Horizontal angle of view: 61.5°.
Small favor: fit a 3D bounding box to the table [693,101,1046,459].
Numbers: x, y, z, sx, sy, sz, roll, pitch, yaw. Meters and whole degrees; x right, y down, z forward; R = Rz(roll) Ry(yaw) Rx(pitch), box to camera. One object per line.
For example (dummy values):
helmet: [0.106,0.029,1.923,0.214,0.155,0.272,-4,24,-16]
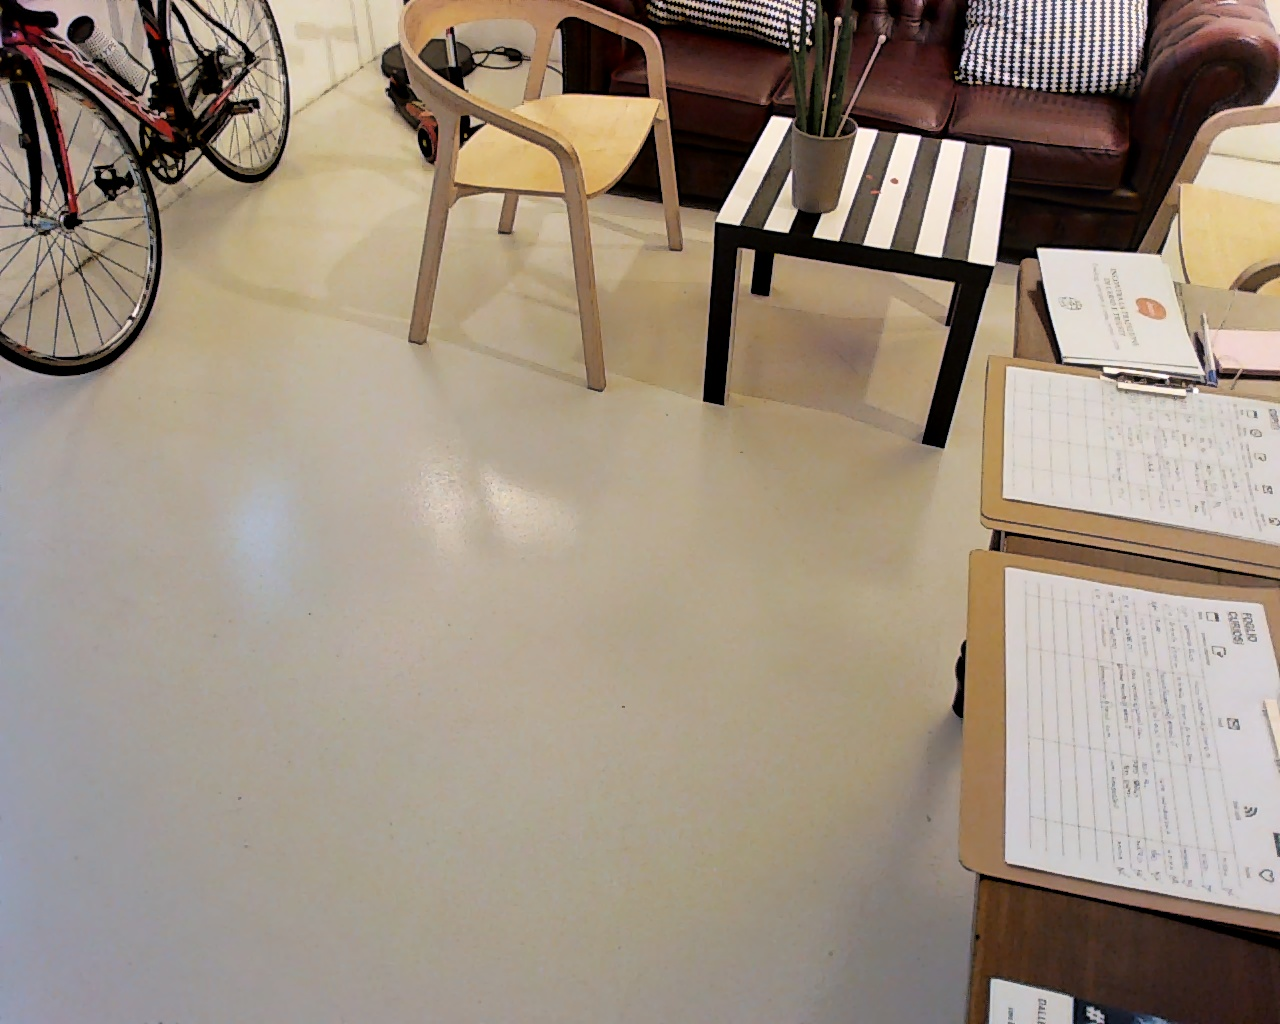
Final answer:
table: [0.520,-0.550,2.440,0.630,0.450,0.630,13,44,13]
